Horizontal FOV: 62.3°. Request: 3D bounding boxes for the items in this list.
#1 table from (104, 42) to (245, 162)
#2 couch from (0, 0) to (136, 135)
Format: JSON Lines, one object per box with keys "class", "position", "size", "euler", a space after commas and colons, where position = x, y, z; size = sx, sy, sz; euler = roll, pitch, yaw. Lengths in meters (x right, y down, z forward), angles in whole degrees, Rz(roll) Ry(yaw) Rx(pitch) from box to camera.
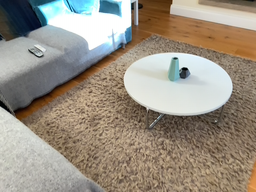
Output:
{"class": "table", "position": [0.440, -0.050, 2.010], "size": [0.910, 0.400, 0.920], "euler": [25, 46, 28]}
{"class": "couch", "position": [-1.460, -0.410, 2.190], "size": [1.310, 0.830, 3.480], "euler": [25, 46, 28]}
